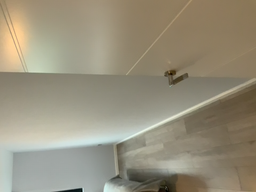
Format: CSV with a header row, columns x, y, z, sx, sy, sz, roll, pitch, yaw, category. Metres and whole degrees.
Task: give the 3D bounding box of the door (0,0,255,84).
x,y,z,sx,sy,sz,roll,pitch,yaw,category
0.300,-0.190,0.650,0.800,1.920,0.040,141,127,-66,door
